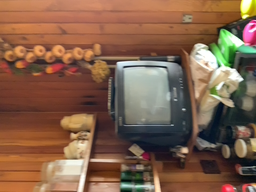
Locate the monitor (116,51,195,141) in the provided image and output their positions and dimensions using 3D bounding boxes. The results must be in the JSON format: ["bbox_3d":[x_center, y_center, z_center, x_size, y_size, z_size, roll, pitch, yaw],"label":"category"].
[{"bbox_3d":[0.120,0.020,1.110,0.310,0.340,0.400,90,180,-75],"label":"monitor"}]
